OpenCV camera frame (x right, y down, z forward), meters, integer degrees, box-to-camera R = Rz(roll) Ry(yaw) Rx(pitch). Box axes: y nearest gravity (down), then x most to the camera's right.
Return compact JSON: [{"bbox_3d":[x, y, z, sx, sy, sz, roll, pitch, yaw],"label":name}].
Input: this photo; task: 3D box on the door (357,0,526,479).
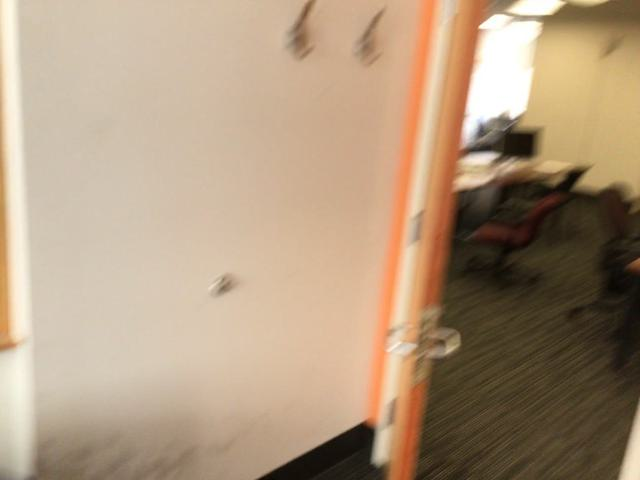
[{"bbox_3d":[0.260,0.200,1.410,0.180,2.080,0.190,16,18,42],"label":"door"}]
